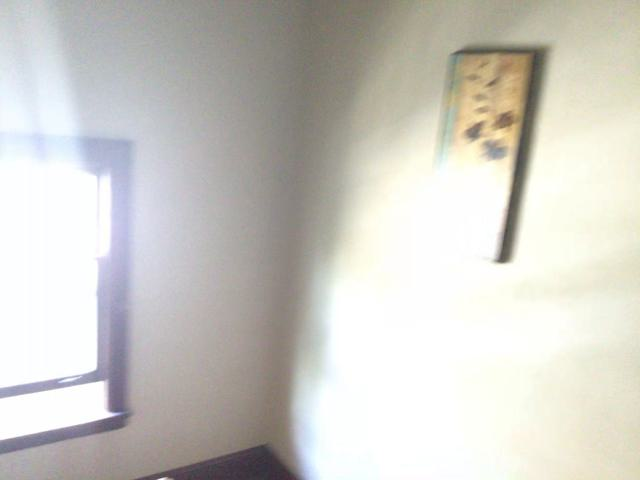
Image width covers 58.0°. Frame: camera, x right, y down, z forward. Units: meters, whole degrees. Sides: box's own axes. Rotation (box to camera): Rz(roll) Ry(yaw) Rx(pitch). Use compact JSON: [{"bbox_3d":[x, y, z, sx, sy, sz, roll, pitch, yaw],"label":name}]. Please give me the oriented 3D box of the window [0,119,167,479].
[{"bbox_3d":[-1.360,0.320,2.750,1.100,1.730,0.400,-5,10,-32],"label":"window"}]
